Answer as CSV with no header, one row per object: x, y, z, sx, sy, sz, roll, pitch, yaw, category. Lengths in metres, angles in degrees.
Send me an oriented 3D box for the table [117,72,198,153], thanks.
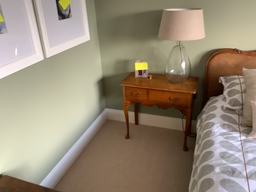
0.320,0.160,2.310,0.760,0.690,0.380,6,28,16,table
